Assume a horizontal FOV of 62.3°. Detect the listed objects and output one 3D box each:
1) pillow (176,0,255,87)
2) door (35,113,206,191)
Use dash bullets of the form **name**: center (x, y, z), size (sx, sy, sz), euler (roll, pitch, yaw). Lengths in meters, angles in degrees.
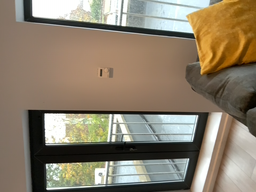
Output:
- **pillow**: center (0.680, -0.430, 1.380), size (0.580, 0.500, 0.190), euler (60, 146, 7)
- **door**: center (-0.060, 0.700, 2.390), size (0.090, 1.800, 1.020), euler (-124, 38, -68)
